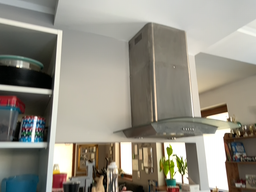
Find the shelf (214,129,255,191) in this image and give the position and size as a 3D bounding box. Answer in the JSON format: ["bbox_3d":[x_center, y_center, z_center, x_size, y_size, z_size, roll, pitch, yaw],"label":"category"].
[{"bbox_3d":[1.780,1.050,2.980,0.200,1.120,1.080,5,-16,-25],"label":"shelf"}]

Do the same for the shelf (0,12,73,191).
[{"bbox_3d":[-0.620,0.130,0.830,0.650,0.750,0.540,6,-17,-25],"label":"shelf"}]

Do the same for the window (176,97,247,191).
[{"bbox_3d":[1.550,0.990,4.250,0.180,1.630,1.450,5,-16,-24],"label":"window"}]
